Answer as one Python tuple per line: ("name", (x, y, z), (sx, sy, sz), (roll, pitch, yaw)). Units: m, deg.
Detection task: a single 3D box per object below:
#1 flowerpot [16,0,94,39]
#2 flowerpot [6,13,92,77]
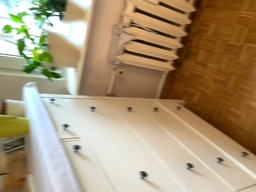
("flowerpot", (-0.440, -0.530, 1.270), (0.250, 0.370, 0.260), (38, 118, 51))
("flowerpot", (-0.500, -0.310, 1.340), (0.230, 0.440, 0.270), (41, 120, 50))
